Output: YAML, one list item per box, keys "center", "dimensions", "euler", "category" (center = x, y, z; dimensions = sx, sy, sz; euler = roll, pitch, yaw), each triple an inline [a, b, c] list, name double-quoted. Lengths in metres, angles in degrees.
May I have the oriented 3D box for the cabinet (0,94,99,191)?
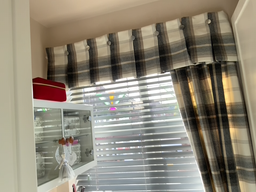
- center: [-0.520, 0.260, 1.170]
  dimensions: [0.400, 0.420, 0.790]
  euler: [-8, -7, 14]
  category: "cabinet"
